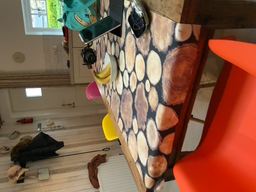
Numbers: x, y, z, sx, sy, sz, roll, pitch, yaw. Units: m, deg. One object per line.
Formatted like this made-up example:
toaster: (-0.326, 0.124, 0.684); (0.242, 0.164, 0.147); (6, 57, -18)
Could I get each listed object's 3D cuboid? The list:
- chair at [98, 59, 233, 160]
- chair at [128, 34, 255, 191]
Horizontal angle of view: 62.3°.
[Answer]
chair: (0.220, 0.060, 1.580); (0.430, 0.800, 0.520); (-121, 32, -52)
chair: (0.510, 0.170, 0.740); (0.650, 0.800, 0.590); (-123, 34, -54)
